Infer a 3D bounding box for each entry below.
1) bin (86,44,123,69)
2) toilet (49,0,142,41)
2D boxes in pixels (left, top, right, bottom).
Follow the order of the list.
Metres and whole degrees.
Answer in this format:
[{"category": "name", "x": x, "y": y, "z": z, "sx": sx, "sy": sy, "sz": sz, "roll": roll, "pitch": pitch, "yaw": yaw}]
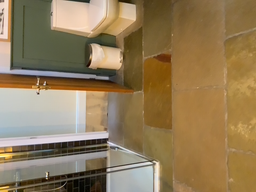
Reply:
[{"category": "bin", "x": -0.300, "y": -0.480, "z": 2.650, "sx": 0.230, "sy": 0.390, "sz": 0.250, "roll": 9, "pitch": 98, "yaw": 60}, {"category": "toilet", "x": -0.380, "y": -0.940, "z": 2.350, "sx": 0.680, "sy": 0.830, "sz": 0.380, "roll": -1, "pitch": 88, "yaw": 60}]
